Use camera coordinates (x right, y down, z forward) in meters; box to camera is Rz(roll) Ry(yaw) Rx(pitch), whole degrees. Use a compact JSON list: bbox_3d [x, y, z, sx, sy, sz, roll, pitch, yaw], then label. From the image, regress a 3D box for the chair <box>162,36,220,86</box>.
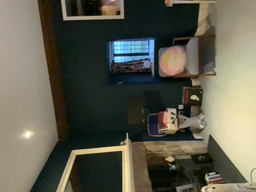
[{"bbox_3d":[0.980,-0.600,3.490,0.690,0.680,0.670,-96,5,-69],"label":"chair"}]
